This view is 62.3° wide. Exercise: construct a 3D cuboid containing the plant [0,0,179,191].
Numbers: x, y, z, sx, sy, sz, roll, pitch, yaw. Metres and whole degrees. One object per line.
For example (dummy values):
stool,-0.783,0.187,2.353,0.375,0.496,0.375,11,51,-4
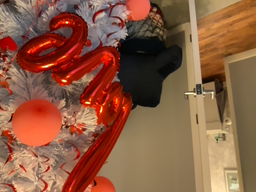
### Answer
plant,-0.300,0.030,1.120,0.710,2.100,0.940,-13,158,39
